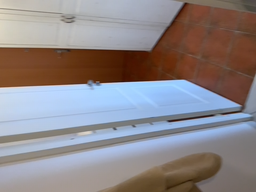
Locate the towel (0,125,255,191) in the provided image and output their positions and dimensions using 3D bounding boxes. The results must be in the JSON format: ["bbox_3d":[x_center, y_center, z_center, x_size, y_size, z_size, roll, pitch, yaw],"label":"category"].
[{"bbox_3d":[-0.100,0.320,0.690,0.230,1.210,0.220,45,132,53],"label":"towel"}]
